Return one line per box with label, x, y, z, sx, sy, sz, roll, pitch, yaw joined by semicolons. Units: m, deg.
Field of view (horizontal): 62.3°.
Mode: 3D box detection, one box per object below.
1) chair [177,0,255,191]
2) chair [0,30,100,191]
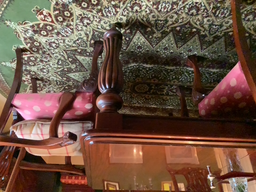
chair;0.650;0.020;1.070;0.590;0.960;0.570;-1;148;2
chair;-0.540;0.180;1.360;0.640;0.940;0.630;4;148;-6
